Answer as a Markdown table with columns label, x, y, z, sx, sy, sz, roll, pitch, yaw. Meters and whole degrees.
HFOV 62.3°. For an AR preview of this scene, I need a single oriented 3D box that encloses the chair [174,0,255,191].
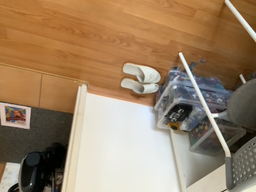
| label | x | y | z | sx | sy | sz | roll | pitch | yaw |
| --- | --- | --- | --- | --- | --- | --- | --- | --- | --- |
| chair | 0.560 | -0.040 | 0.940 | 0.430 | 0.780 | 0.390 | 12 | 137 | -16 |
